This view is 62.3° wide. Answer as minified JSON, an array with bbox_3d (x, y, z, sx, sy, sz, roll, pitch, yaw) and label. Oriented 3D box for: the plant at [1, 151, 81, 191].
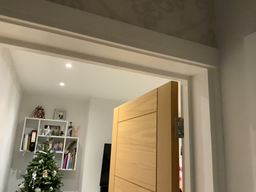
[{"bbox_3d":[-1.300,1.660,3.040,0.930,1.630,0.780,8,-15,-22],"label":"plant"}]
